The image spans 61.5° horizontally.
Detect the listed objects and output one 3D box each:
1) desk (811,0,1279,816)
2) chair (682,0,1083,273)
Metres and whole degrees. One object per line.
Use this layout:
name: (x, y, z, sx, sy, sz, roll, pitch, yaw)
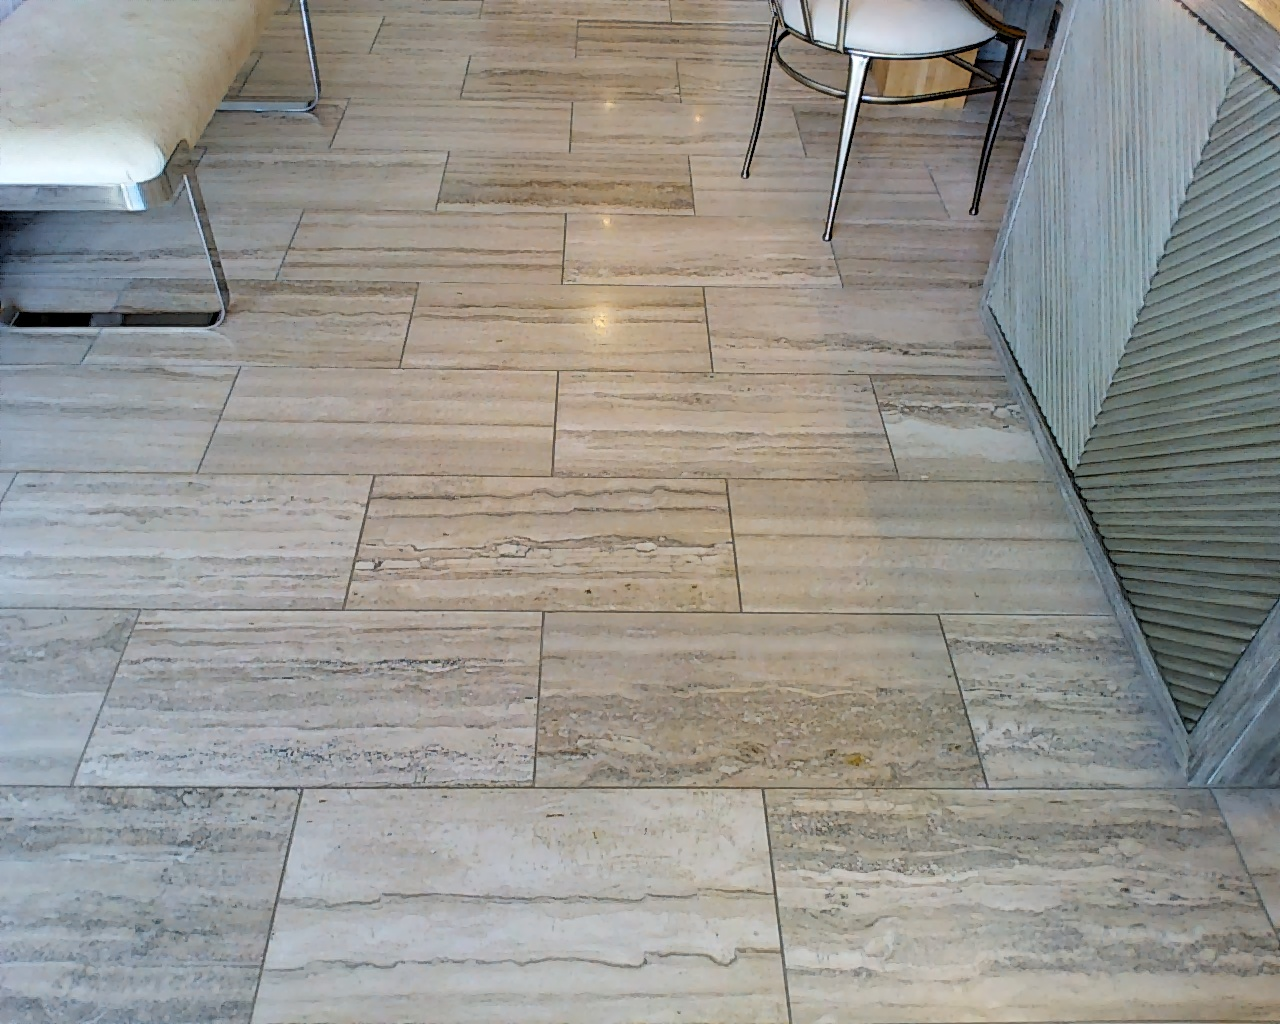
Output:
desk: (1.000, -1.150, 2.440, 0.730, 0.900, 3.580, 0, 44, -2)
chair: (0.510, -1.080, 2.360, 0.570, 0.790, 0.610, -18, 47, -20)
